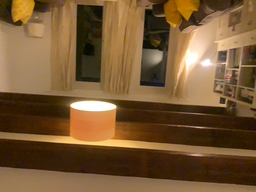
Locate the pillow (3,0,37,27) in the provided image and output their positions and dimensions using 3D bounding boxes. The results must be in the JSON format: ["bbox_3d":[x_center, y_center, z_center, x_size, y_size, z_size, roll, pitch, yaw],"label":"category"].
[{"bbox_3d":[-1.780,-1.500,3.520,0.230,0.500,0.510,5,-141,2],"label":"pillow"}]

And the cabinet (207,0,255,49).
[{"bbox_3d":[1.750,-1.310,3.190,0.460,1.030,1.470,4,-172,0],"label":"cabinet"}]
